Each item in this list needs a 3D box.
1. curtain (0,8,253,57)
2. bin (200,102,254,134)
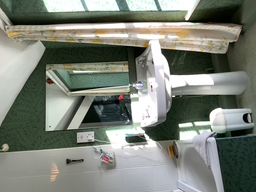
[{"bbox_3d":[0.000,-0.520,1.750,0.270,1.950,0.190,102,163,-76],"label":"curtain"},{"bbox_3d":[0.830,0.200,1.820,0.310,0.270,0.210,108,158,-75],"label":"bin"}]
